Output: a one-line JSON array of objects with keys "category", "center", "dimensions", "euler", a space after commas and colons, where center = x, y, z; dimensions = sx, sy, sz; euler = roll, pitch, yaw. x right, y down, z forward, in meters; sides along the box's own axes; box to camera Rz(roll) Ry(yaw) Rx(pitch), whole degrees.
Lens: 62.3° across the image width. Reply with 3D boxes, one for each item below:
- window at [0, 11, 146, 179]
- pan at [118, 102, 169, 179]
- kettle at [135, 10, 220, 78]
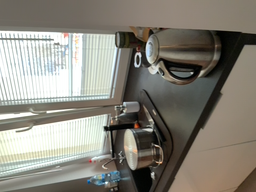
[{"category": "window", "center": [-0.730, 0.120, 1.590], "dimensions": [0.120, 1.510, 1.430], "euler": [-115, 29, -46]}, {"category": "pan", "center": [0.070, 0.270, 1.280], "dimensions": [0.290, 0.140, 0.360], "euler": [-112, 27, -42]}, {"category": "kettle", "center": [0.170, -0.190, 0.790], "dimensions": [0.150, 0.220, 0.190], "euler": [-115, 29, -47]}]
